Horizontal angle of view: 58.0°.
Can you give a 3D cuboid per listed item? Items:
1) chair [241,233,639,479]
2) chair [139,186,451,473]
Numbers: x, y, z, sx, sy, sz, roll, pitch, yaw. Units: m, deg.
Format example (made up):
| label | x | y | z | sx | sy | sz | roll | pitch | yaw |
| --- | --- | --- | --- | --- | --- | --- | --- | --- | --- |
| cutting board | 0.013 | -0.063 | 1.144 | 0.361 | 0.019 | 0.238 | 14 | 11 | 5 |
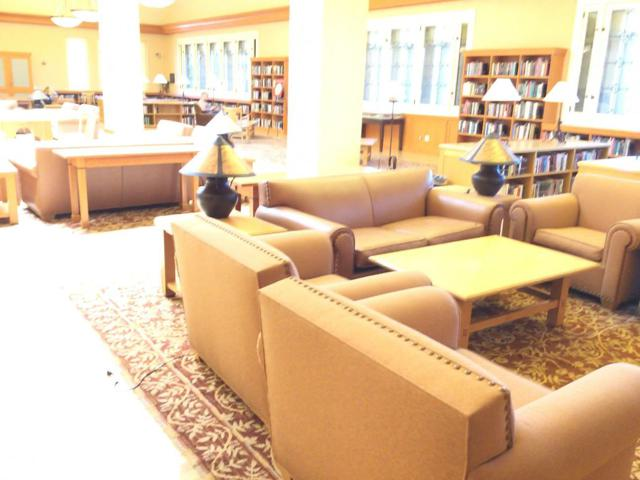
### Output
| label | x | y | z | sx | sy | sz | roll | pitch | yaw |
| --- | --- | --- | --- | --- | --- | --- | --- | --- | --- |
| chair | 0.430 | 0.550 | 1.960 | 0.980 | 0.810 | 1.080 | -9 | 19 | -34 |
| chair | -0.150 | 0.280 | 2.710 | 1.020 | 0.830 | 1.000 | -9 | 19 | -34 |
